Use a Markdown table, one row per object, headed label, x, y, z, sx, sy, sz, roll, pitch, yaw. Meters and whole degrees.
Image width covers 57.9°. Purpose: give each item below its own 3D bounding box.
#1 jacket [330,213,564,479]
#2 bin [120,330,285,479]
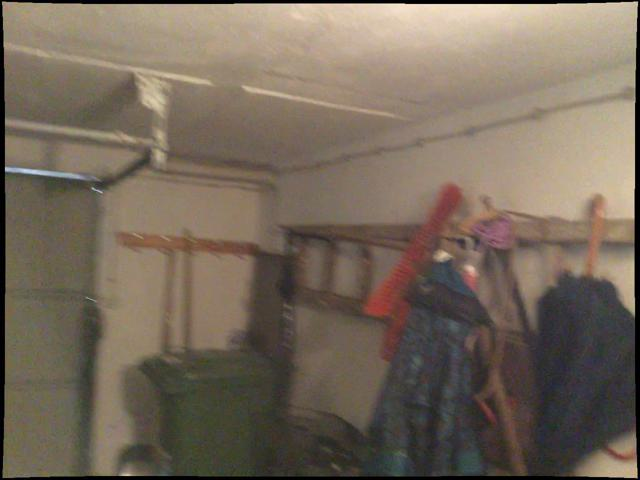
| label | x | y | z | sx | sy | sz | roll | pitch | yaw |
| --- | --- | --- | --- | --- | --- | --- | --- | --- | --- |
| jacket | 0.320 | 0.460 | 1.630 | 0.370 | 1.041 | 0.530 | 2 | 0 | -24 |
| bin | -0.619 | 1.081 | 2.940 | 0.699 | 1.141 | 0.520 | 2 | 0 | -24 |
